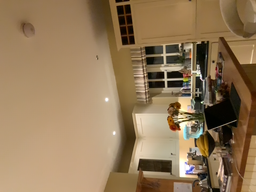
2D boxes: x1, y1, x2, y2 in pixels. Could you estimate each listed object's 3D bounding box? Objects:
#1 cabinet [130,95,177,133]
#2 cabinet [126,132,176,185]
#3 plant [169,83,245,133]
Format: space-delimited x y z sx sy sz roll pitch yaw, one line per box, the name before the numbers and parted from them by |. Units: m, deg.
cabinet | 0.610 0.410 4.850 0.490 0.980 0.690 -71 -24 -56
cabinet | 0.530 1.270 4.480 1.070 0.930 0.350 -70 -24 -56
plant | 0.600 0.090 1.700 0.310 0.510 0.260 -68 -26 -58
